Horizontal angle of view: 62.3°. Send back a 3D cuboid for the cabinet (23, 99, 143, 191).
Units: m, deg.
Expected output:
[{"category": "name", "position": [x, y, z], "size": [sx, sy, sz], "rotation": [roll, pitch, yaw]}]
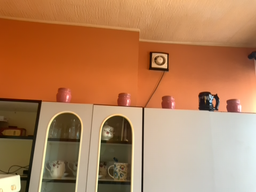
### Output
[{"category": "cabinet", "position": [-0.240, 0.400, 1.300], "size": [0.610, 0.670, 0.320], "rotation": [3, -17, -5]}]
